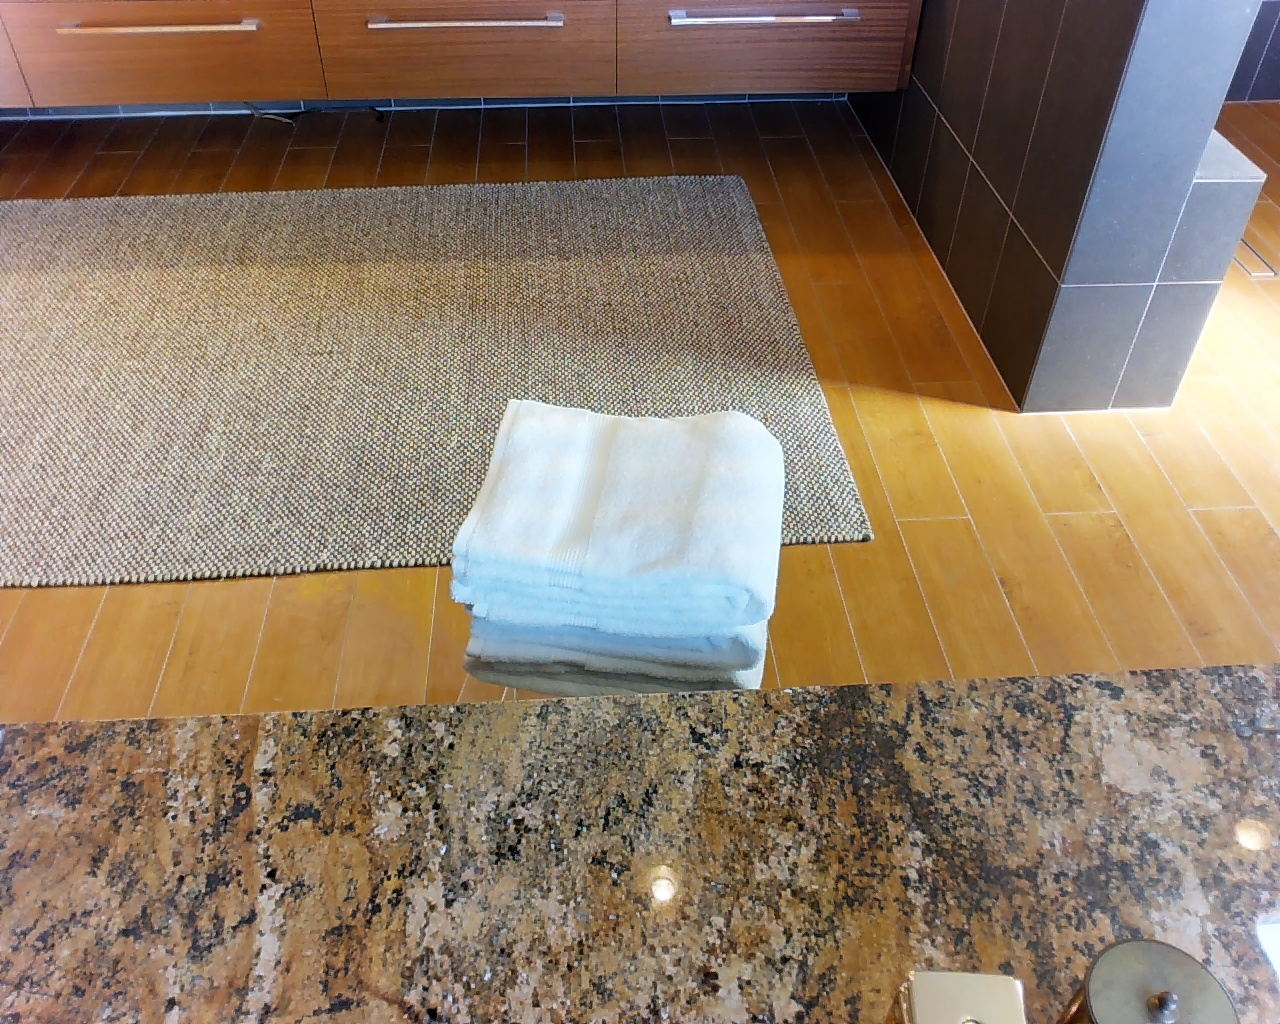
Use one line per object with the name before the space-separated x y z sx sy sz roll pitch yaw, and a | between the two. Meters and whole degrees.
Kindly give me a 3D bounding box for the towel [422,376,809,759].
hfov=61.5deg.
towel | -0.010 0.060 1.290 0.390 0.280 0.320 5 43 5
